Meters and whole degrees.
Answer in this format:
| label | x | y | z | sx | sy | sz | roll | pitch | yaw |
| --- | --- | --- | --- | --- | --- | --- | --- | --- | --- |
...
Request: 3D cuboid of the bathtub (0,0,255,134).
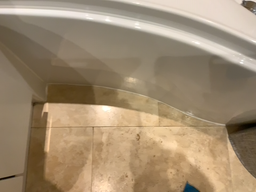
| label | x | y | z | sx | sy | sz | roll | pitch | yaw |
| --- | --- | --- | --- | --- | --- | --- | --- | --- | --- |
| bathtub | 0.110 | -0.370 | 0.810 | 1.620 | 0.610 | 0.920 | -2 | 76 | -2 |
